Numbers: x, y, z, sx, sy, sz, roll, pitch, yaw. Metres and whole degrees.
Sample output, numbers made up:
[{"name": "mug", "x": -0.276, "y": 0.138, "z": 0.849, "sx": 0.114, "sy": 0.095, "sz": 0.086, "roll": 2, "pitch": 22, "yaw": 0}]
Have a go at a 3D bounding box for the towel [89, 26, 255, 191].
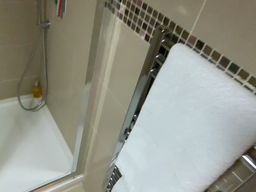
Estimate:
[{"name": "towel", "x": 0.090, "y": 0.140, "z": 0.570, "sx": 0.100, "sy": 0.510, "sz": 0.360, "roll": -14, "pitch": 53, "yaw": -41}]
